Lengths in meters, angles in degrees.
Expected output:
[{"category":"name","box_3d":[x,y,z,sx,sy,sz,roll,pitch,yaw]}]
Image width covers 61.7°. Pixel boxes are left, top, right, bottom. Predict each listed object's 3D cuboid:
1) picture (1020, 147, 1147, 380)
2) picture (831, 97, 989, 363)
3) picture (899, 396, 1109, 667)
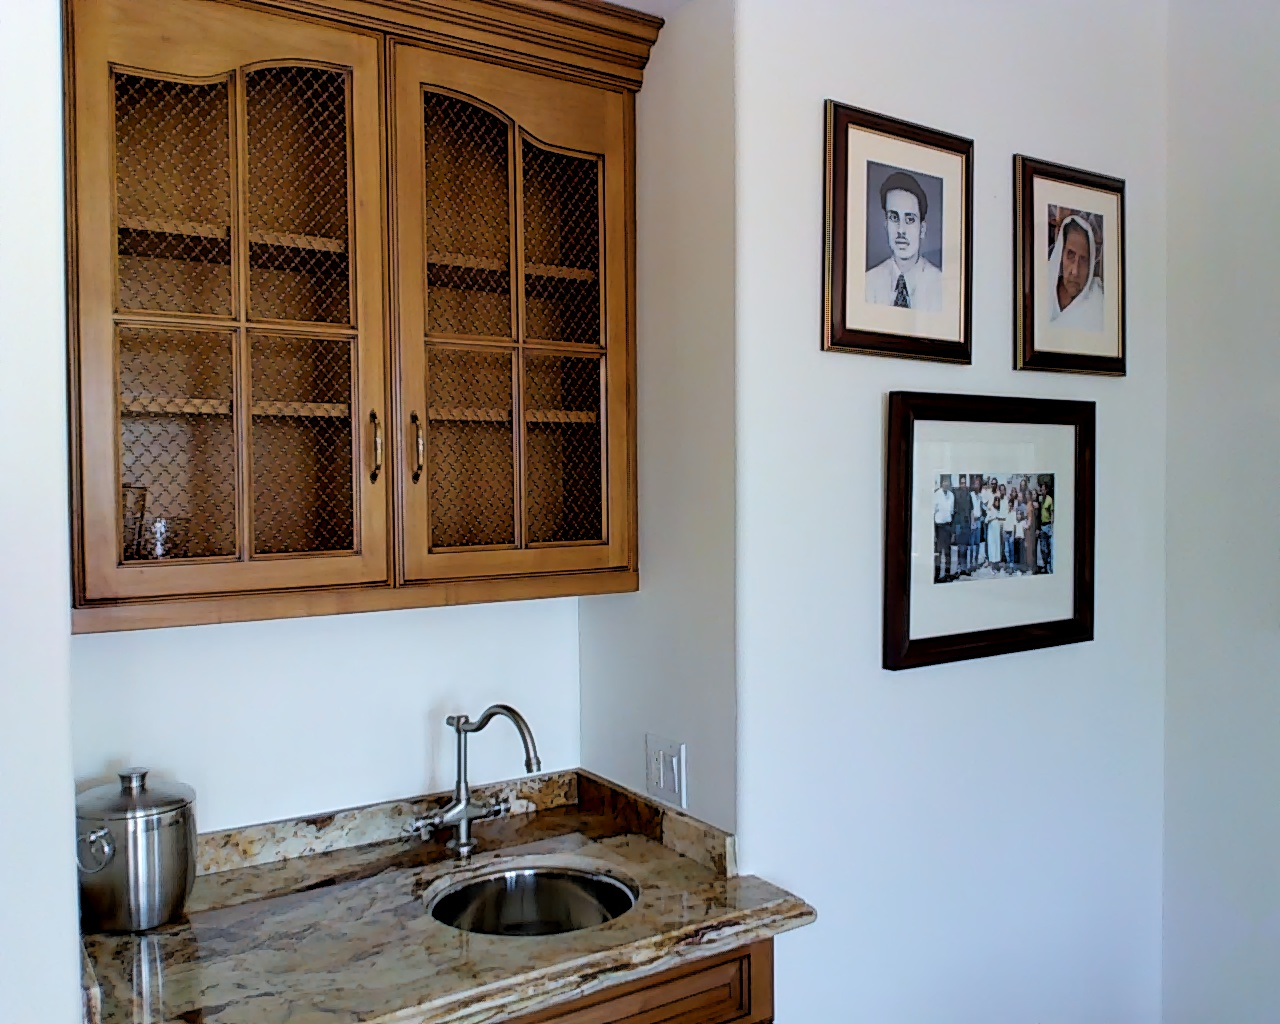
[{"category":"picture","box_3d":[0.940,-0.510,2.260,0.390,0.440,0.030,-1,2,-33]},{"category":"picture","box_3d":[0.500,-0.500,1.960,0.380,0.430,0.030,-1,2,-33]},{"category":"picture","box_3d":[0.730,0.030,2.110,0.590,0.490,0.030,-1,2,-33]}]
